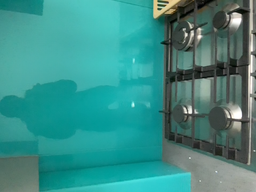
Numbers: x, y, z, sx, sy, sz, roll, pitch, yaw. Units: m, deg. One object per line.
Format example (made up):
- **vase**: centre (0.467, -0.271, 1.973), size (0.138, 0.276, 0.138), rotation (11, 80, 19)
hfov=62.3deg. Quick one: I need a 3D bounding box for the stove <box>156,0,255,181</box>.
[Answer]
- **stove**: centre (0.260, -0.090, 0.740), size (0.540, 0.040, 0.600), rotation (-178, 90, -67)
